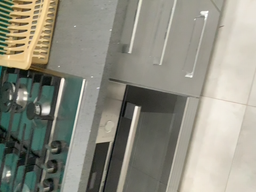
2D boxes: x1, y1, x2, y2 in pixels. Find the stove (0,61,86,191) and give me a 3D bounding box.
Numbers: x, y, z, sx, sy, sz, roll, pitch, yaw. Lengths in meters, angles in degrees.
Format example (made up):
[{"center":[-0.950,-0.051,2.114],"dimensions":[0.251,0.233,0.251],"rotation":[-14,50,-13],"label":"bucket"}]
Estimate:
[{"center":[-0.380,0.190,0.720],"dimensions":[0.520,0.030,0.570],"rotation":[15,95,37],"label":"stove"}]
